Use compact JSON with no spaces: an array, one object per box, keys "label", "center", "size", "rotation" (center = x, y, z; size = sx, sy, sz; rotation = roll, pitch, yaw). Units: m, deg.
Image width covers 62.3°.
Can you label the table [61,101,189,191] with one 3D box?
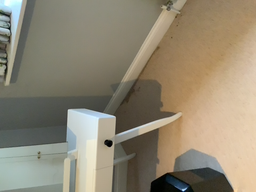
[{"label":"table","center":[0.000,0.530,1.380],"size":[0.340,0.760,0.950],"rotation":[7,95,49]}]
